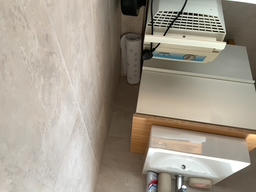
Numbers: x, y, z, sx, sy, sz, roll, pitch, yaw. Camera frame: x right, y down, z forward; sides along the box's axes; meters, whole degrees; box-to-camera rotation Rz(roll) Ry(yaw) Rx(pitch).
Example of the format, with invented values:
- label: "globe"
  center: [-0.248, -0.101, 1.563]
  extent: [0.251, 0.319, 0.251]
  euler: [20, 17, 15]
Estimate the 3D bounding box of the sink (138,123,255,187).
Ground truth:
- label: "sink"
  center: [0.310, 0.340, 1.140]
  extent: [0.470, 0.130, 0.460]
  euler: [8, 147, 4]
